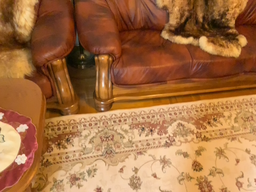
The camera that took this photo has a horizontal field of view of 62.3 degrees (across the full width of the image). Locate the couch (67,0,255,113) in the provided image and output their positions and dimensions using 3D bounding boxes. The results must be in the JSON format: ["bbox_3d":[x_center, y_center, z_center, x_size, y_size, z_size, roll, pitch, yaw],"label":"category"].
[{"bbox_3d":[0.610,-0.620,1.730,2.050,0.980,0.850,-7,50,-10],"label":"couch"}]

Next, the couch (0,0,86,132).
[{"bbox_3d":[-0.880,-0.410,1.450,1.020,0.930,0.930,-7,50,-10],"label":"couch"}]

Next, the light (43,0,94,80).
[{"bbox_3d":[-0.450,-0.870,1.460,0.300,1.670,0.420,-7,50,-12],"label":"light"}]
